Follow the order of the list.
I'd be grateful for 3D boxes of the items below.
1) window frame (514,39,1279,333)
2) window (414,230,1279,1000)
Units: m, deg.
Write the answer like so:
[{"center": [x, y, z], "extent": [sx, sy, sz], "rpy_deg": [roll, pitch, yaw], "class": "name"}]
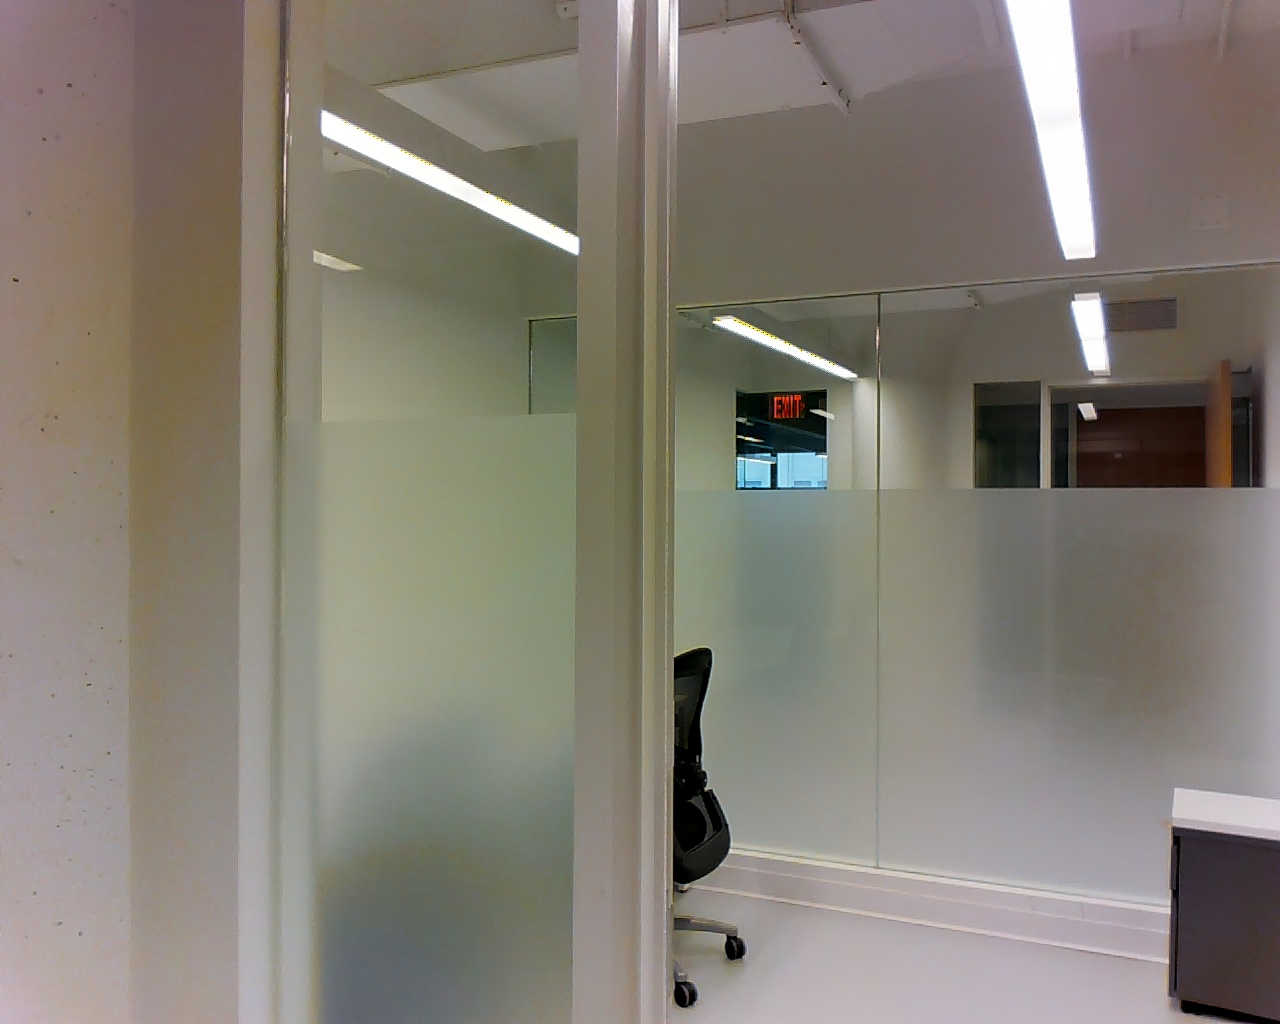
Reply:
[{"center": [0.830, -1.110, 3.880], "extent": [2.899, 0.730, 0.080], "rpy_deg": [0, -1, 23], "class": "window frame"}, {"center": [0.610, 0.310, 3.950], "extent": [3.369, 2.371, 0.100], "rpy_deg": [0, -1, 23], "class": "window"}]
